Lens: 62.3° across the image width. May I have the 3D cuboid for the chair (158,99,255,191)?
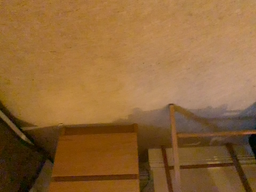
[{"bbox_3d":[0.430,0.480,0.950,0.470,0.760,0.520,-2,143,1],"label":"chair"}]
